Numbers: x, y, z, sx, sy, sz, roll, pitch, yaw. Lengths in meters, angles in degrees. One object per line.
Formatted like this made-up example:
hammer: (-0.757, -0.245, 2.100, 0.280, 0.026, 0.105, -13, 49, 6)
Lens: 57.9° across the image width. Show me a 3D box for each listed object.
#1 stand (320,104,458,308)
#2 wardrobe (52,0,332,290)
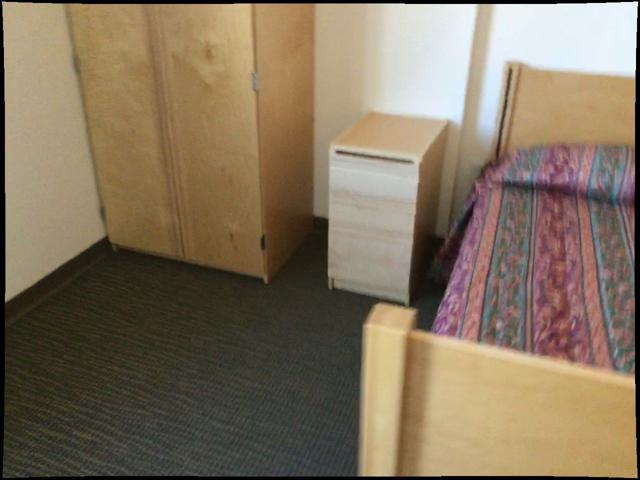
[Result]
stand: (0.320, -0.180, 2.670, 0.440, 0.701, 0.580, 12, 31, 17)
wardrobe: (-0.519, -0.831, 2.640, 0.929, 1.821, 0.770, 12, 31, 17)
